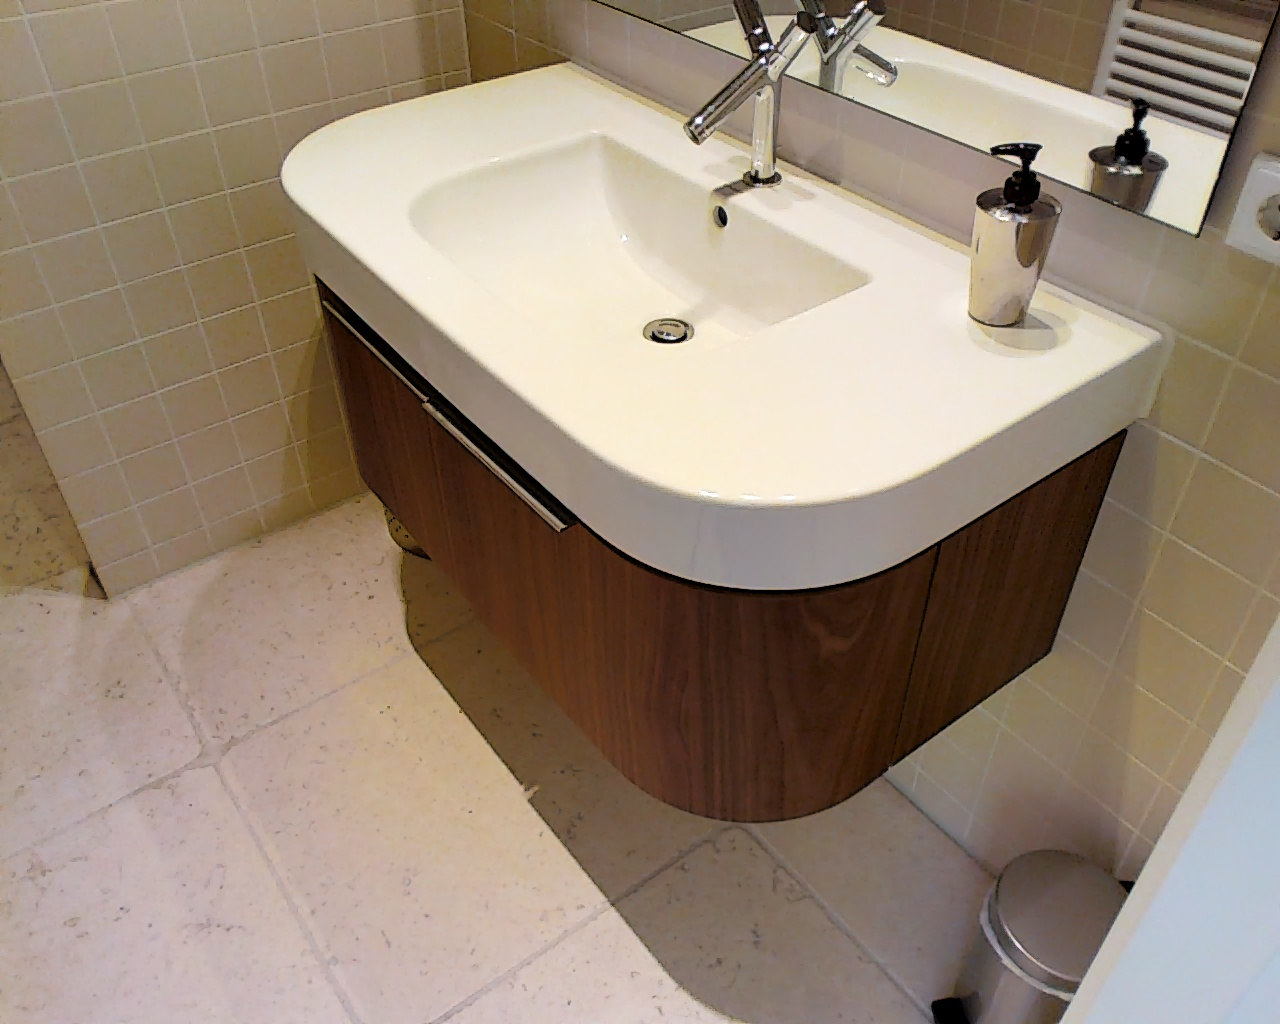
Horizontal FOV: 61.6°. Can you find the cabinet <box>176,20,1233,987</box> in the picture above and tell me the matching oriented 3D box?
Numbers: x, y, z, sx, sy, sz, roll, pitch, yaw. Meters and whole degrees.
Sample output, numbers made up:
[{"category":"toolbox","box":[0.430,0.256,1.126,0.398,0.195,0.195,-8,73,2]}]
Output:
[{"category":"cabinet","box":[-0.030,-0.140,1.330,0.570,0.550,1.090,-26,46,-27]}]

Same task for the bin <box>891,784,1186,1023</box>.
[{"category":"bin","box":[0.480,0.540,1.330,0.230,0.270,0.190,-26,46,-27]}]
